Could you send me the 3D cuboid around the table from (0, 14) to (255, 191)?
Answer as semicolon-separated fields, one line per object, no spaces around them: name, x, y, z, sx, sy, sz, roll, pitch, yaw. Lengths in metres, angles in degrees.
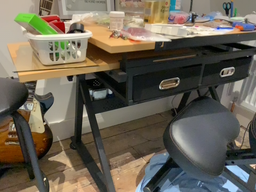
table;0.110;-0.010;1.080;1.200;0.690;0.630;-12;30;-29

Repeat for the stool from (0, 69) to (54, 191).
stool;-0.460;0.220;0.730;0.310;0.520;0.300;-12;30;-29
